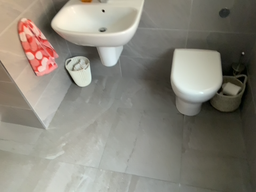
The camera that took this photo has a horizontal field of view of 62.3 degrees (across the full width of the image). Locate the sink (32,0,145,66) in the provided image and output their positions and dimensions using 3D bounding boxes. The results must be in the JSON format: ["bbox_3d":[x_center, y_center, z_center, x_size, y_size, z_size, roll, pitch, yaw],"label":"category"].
[{"bbox_3d":[-0.240,-0.510,1.540,0.640,0.260,0.490,8,50,12],"label":"sink"}]

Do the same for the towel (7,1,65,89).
[{"bbox_3d":[-0.650,-0.360,1.590,0.070,0.560,0.320,6,50,10],"label":"towel"}]

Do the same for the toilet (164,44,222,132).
[{"bbox_3d":[0.520,-0.070,1.750,0.350,0.450,0.520,8,50,12],"label":"toilet"}]
